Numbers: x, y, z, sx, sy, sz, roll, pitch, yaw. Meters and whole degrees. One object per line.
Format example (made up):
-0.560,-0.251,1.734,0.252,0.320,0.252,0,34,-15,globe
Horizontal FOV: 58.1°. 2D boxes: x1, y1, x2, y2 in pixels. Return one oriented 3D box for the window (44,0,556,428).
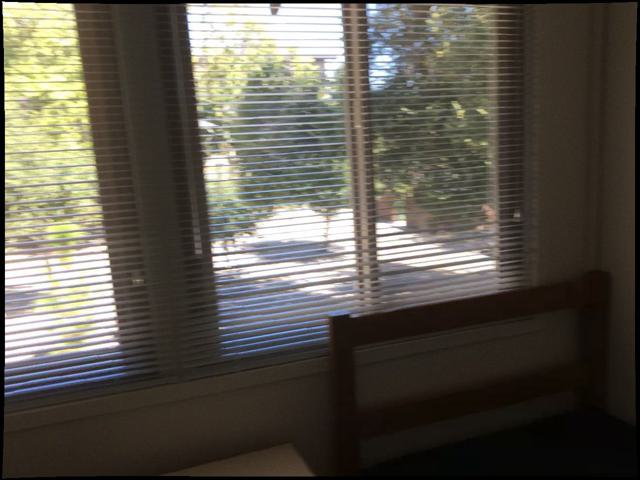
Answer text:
0.030,-0.180,1.740,1.397,1.163,0.260,-8,15,-17,window
